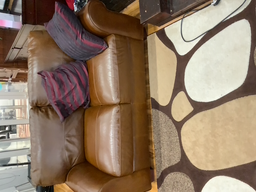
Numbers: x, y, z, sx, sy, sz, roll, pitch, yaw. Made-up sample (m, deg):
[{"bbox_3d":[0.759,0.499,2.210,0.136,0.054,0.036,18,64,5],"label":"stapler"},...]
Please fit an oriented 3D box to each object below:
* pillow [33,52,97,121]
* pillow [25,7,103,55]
[{"bbox_3d":[-0.550,-0.080,1.900,0.150,0.410,0.510,150,104,-79],"label":"pillow"},{"bbox_3d":[-0.500,-0.510,1.770,0.510,0.410,0.160,9,-104,-75],"label":"pillow"}]
